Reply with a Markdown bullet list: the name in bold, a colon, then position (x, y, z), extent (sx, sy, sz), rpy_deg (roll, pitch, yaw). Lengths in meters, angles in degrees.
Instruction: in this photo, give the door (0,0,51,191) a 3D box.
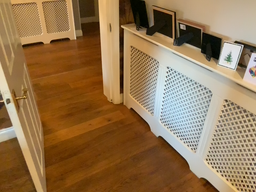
- **door**: position (-0.700, -0.280, 1.280), extent (0.080, 2.030, 0.880), rpy_deg (-10, 36, -18)
